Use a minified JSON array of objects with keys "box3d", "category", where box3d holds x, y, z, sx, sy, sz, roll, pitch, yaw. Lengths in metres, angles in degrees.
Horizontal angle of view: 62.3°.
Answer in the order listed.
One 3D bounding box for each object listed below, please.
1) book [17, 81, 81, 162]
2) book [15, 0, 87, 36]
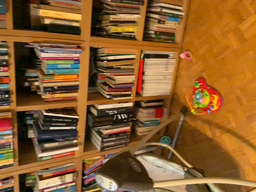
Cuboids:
[{"box3d":[-0.540,0.150,1.460,0.260,0.350,0.450,24,114,55],"category":"book"},{"box3d":[-0.470,-0.550,1.270,0.340,0.340,0.320,30,119,53],"category":"book"}]
